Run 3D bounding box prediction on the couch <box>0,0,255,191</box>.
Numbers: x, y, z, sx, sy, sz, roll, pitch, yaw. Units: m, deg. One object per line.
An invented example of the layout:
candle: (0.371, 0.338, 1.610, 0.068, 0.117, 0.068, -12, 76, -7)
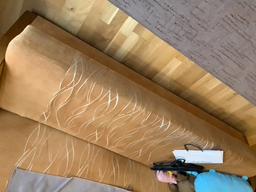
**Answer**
couch: (-0.030, 0.470, 1.570, 2.050, 1.000, 1.060, 28, 132, -22)
